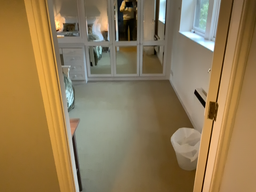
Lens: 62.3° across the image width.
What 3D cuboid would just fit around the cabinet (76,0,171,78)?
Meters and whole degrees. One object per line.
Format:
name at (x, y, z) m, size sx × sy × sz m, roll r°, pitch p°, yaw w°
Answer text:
cabinet at (-0.080, -1.540, 4.200) m, size 1.760 × 2.350 × 0.310 m, roll -1°, pitch 24°, yaw -1°

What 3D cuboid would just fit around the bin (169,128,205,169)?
bin at (0.570, 0.510, 2.100) m, size 0.260 × 0.270 × 0.300 m, roll 0°, pitch 24°, yaw 1°
